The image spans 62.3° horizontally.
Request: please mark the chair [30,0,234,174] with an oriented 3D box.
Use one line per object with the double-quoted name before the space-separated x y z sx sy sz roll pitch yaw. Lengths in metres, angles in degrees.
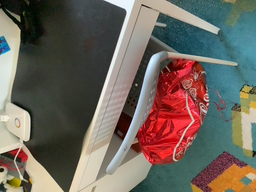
"chair" 0.080 -0.090 0.920 0.450 0.750 0.340 36 116 27
